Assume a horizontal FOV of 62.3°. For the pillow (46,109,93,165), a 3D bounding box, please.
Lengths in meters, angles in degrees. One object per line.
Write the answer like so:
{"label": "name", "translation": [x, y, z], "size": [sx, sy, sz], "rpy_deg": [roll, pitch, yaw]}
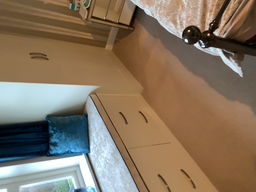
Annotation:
{"label": "pillow", "translation": [-0.610, 0.400, 2.210], "size": [0.200, 0.430, 0.510], "rpy_deg": [-2, 88, 57]}

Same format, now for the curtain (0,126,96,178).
{"label": "curtain", "translation": [-1.030, 0.540, 2.040], "size": [0.330, 1.390, 0.250], "rpy_deg": [57, 134, 40]}
